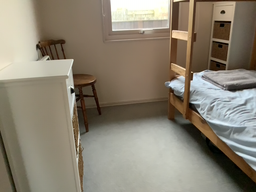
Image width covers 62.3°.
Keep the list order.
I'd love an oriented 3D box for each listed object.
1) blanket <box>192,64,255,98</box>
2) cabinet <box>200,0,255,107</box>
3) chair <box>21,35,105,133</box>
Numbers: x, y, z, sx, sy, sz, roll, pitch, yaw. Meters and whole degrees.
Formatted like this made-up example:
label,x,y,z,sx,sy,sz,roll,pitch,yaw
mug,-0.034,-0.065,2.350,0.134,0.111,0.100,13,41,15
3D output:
label,x,y,z,sx,sy,sz,roll,pitch,yaw
blanket,0.910,-0.150,1.850,0.500,0.130,0.500,-4,21,-8
cabinet,1.140,-0.480,2.440,0.340,1.140,0.370,-4,21,-9
chair,-0.580,-0.150,2.090,0.500,0.820,0.510,5,22,16
